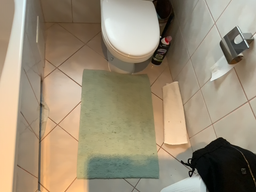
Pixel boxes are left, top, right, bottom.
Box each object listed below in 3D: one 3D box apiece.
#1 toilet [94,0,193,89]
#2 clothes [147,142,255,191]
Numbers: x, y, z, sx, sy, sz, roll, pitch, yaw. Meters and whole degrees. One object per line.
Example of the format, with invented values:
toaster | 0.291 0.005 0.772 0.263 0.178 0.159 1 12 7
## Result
toilet | 0.000 -0.500 1.350 0.360 0.740 0.640 -1 64 -13
clothes | 0.360 0.450 1.000 0.340 0.580 0.290 -5 65 -15
